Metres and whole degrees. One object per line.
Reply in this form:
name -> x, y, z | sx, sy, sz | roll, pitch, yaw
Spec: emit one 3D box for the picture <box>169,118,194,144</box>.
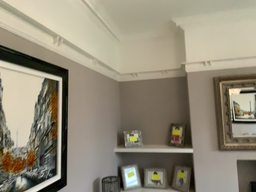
picture -> 0.830, 0.530, 3.280 | 0.330, 0.360, 0.350 | -4, -4, 14
